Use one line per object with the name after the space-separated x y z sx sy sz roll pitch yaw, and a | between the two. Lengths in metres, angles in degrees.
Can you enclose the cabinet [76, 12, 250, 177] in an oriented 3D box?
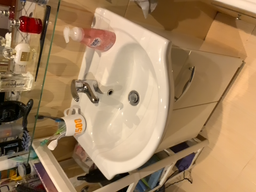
0.210 -0.020 1.100 0.320 0.760 0.560 40 119 35 | cabinet
